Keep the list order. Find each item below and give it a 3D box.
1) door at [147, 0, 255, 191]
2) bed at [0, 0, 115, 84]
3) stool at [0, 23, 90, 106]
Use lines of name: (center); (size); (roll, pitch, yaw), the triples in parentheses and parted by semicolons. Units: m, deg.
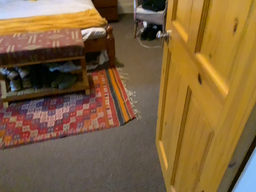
door: (0.230, -0.230, 0.710); (0.080, 1.980, 0.890); (-3, 38, -4)
bed: (-1.160, -1.010, 2.950); (1.500, 0.500, 2.050); (-10, 39, -13)
stool: (-0.810, -0.310, 2.000); (0.800, 0.560, 0.410); (-9, 39, -11)
